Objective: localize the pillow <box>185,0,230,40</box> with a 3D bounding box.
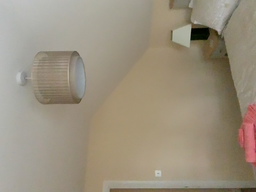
[{"bbox_3d":[0.800,-0.880,2.160,0.150,0.390,0.700,-67,-21,-16],"label":"pillow"}]
